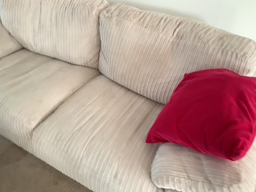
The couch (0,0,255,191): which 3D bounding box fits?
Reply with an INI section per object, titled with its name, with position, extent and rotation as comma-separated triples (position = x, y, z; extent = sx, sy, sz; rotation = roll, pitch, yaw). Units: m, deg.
[couch]
position = -0.340, -0.120, 1.440
extent = 2.040, 0.800, 0.990
rotation = 22, 45, 20
